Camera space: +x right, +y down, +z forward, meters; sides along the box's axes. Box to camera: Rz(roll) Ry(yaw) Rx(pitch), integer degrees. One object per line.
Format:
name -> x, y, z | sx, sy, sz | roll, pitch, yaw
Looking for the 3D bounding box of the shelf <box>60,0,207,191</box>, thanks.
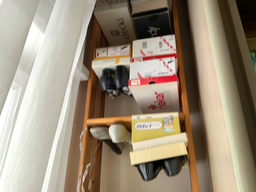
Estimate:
shelf -> 0.040, 0.110, 0.870 | 0.450, 2.040, 0.300 | -5, 155, 14
